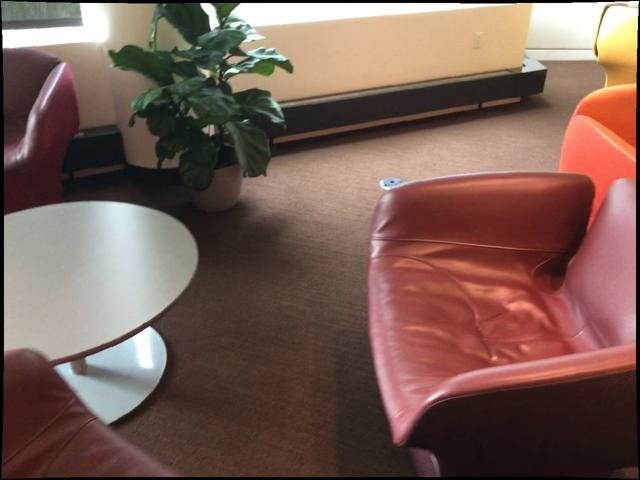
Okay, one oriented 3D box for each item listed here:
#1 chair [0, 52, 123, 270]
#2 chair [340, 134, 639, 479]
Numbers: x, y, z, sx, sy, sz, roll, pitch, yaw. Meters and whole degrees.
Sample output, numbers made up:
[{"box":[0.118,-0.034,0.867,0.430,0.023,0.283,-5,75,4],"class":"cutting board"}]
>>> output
[{"box":[-1.616,-0.411,2.790,0.948,0.731,0.931,-2,31,-2],"class":"chair"},{"box":[0.549,0.261,1.570,0.968,0.771,0.981,-1,31,1],"class":"chair"}]
